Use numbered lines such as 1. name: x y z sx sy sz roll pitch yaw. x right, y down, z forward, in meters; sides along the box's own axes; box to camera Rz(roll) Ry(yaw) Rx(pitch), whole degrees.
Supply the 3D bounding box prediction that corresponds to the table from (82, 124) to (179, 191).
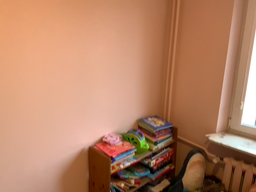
1. table: 0.070 0.800 2.020 0.250 0.810 1.040 15 17 41
